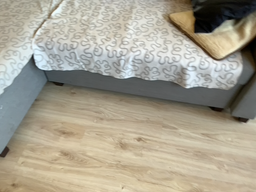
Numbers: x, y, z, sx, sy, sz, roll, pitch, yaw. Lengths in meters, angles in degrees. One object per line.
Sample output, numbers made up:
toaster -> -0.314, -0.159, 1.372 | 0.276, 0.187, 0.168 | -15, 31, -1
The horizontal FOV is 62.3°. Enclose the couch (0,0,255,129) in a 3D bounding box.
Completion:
couch -> -0.200, -0.540, 1.550 | 2.300, 0.710, 0.920 | 9, 50, 7
